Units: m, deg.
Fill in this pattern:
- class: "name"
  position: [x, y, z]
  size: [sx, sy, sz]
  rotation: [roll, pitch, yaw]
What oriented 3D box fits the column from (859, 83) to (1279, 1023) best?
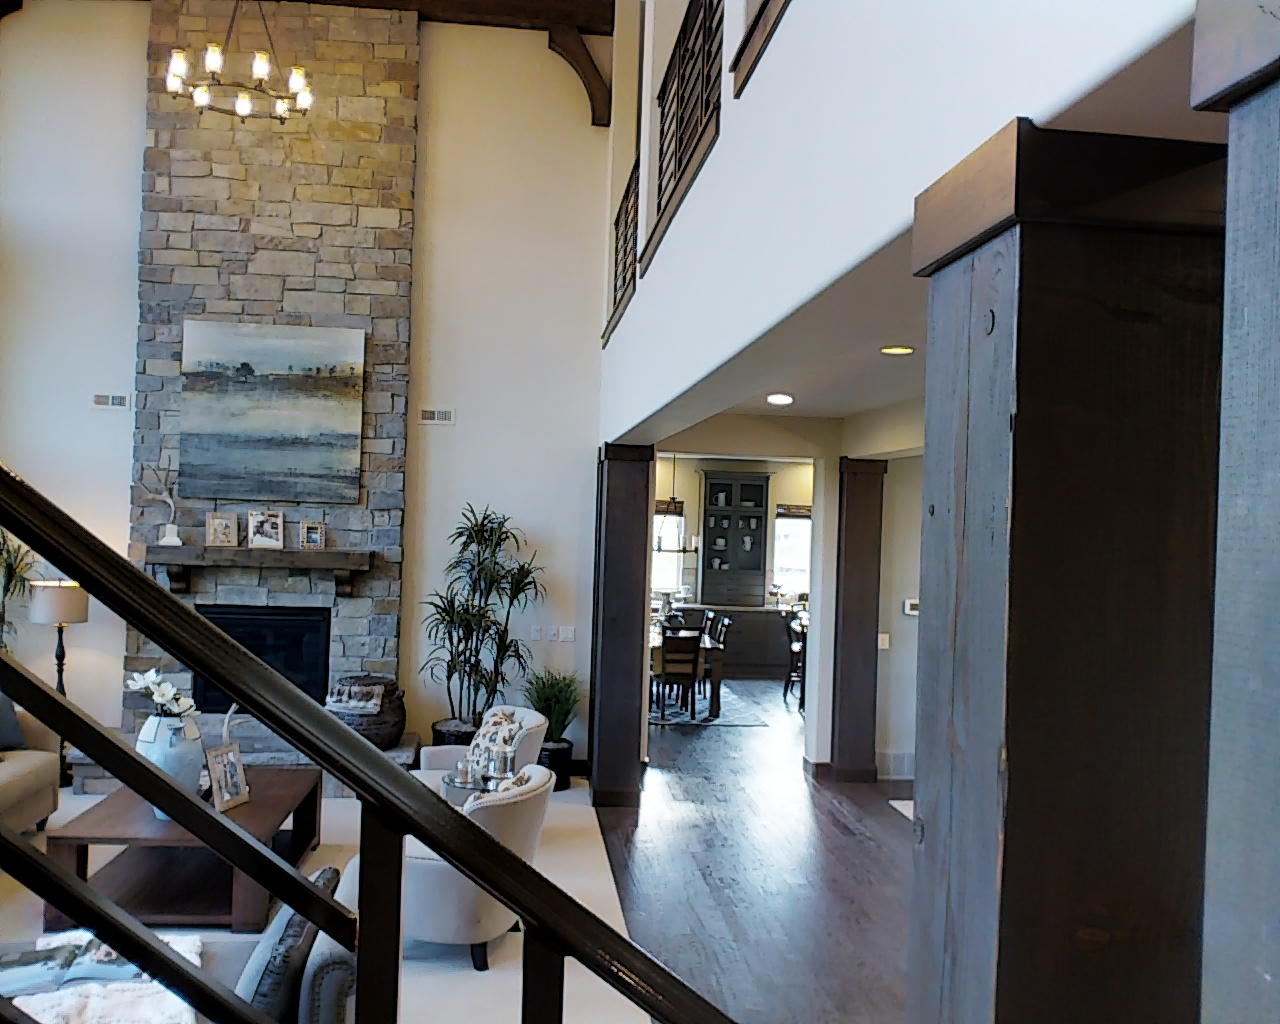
- class: "column"
  position: [0.590, 0.810, 1.560]
  size: [0.420, 2.680, 0.420]
  rotation: [2, 0, -6]
